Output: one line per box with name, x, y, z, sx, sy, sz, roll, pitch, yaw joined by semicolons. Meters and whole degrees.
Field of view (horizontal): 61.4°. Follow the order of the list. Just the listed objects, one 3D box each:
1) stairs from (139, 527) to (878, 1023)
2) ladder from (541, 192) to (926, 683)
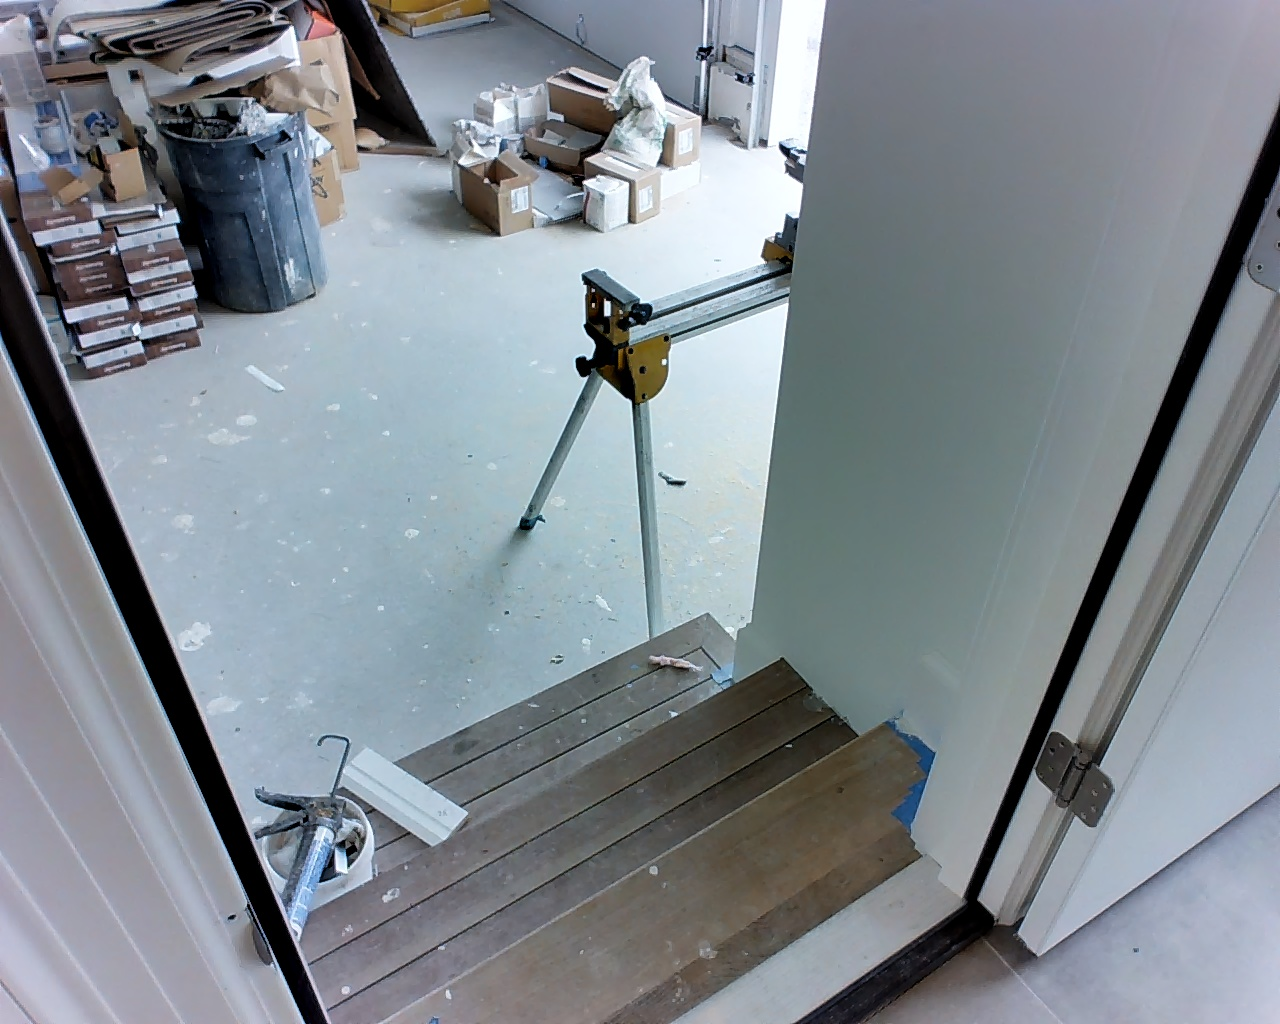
stairs;-0.240;0.540;2.130;1.210;0.250;0.700;-23;47;-25
ladder;0.210;-0.190;2.800;0.730;0.980;0.500;-23;47;-25
